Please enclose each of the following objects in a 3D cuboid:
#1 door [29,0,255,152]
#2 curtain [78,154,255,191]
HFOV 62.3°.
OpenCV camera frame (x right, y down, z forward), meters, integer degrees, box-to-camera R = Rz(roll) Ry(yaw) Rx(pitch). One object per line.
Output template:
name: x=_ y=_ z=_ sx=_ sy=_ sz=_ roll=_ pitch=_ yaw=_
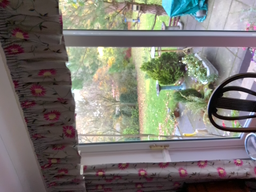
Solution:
door: x=0.450 y=-0.510 z=1.620 sx=0.130 sy=2.190 sz=2.470 roll=-101 pitch=12 yaw=-55
curtain: x=0.470 y=0.970 z=2.250 sx=0.240 sy=1.890 sz=0.640 roll=-101 pitch=12 yaw=-54
